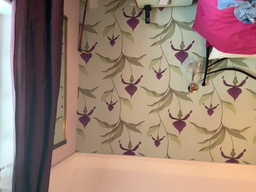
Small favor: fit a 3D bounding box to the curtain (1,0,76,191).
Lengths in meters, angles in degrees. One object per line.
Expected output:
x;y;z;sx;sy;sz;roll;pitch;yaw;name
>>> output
-0.570;-0.150;1.420;0.320;2.350;0.340;1;180;6;curtain
